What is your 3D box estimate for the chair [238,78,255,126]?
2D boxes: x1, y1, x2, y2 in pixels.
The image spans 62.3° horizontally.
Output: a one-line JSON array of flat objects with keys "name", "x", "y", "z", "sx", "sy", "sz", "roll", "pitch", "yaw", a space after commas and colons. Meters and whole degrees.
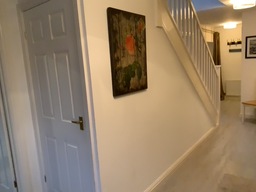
[{"name": "chair", "x": 2.660, "y": 0.110, "z": 4.390, "sx": 0.520, "sy": 0.900, "sz": 0.490, "roll": -11, "pitch": 13, "yaw": -39}]
